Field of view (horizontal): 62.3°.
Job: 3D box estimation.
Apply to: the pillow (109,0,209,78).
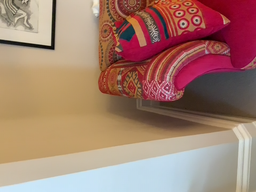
[{"bbox_3d":[0.130,-0.440,1.210,0.200,0.500,0.540,-42,27,14],"label":"pillow"}]
